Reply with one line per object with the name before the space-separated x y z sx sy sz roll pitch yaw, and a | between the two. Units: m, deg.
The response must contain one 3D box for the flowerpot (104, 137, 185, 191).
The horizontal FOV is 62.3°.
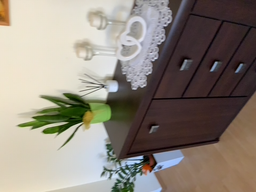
flowerpot | 0.160 0.670 2.120 0.210 0.690 0.420 59 140 43
